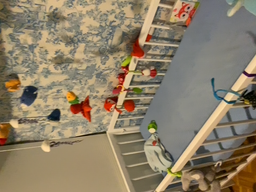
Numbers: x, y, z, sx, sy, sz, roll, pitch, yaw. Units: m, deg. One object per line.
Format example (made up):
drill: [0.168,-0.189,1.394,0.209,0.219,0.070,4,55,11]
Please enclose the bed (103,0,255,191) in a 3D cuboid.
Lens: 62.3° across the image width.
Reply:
bed: [0.460,-0.010,1.190,0.630,0.790,1.280,62,143,41]
